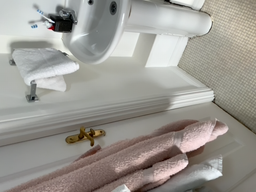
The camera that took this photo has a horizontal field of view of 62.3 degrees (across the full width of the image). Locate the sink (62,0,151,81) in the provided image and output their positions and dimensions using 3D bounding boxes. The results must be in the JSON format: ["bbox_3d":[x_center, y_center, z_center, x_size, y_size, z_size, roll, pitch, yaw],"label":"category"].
[{"bbox_3d":[-0.120,-0.410,1.000,0.410,0.170,0.530,46,129,37],"label":"sink"}]

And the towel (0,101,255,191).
[{"bbox_3d":[-0.060,0.280,0.510,0.470,1.310,0.130,46,129,37],"label":"towel"}]
